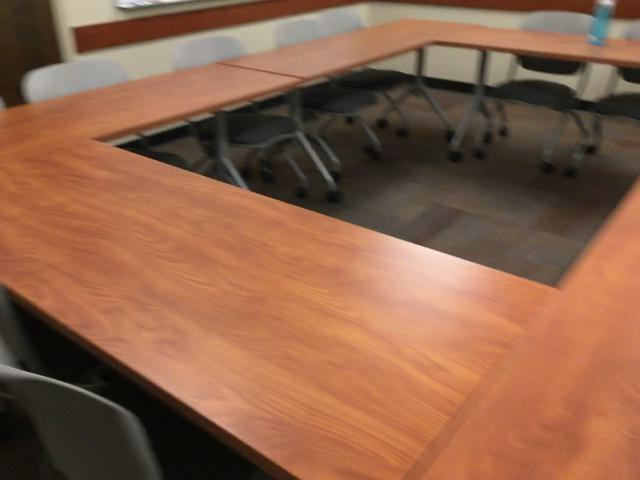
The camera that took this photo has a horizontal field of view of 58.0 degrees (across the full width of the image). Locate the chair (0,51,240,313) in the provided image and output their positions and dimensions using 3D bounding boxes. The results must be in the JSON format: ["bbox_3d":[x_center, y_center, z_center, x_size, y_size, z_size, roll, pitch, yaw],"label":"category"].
[{"bbox_3d":[-0.810,-0.280,2.410,0.690,0.840,0.510,19,36,35],"label":"chair"}]

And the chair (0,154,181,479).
[{"bbox_3d":[-0.790,0.290,1.350,0.660,0.840,0.470,19,36,35],"label":"chair"}]

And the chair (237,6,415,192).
[{"bbox_3d":[0.060,-0.830,3.260,0.680,0.810,0.660,19,36,35],"label":"chair"}]

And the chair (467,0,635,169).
[{"bbox_3d":[1.310,-0.930,3.320,0.600,0.740,0.710,19,36,35],"label":"chair"}]
